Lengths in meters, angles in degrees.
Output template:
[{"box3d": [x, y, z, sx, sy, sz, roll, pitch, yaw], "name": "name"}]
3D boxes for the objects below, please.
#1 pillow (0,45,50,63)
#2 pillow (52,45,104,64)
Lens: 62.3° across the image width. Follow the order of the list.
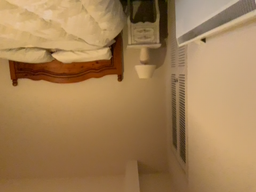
[{"box3d": [-1.330, -0.500, 2.570, 0.680, 0.180, 0.210, -3, -172, -3], "name": "pillow"}, {"box3d": [-0.610, -0.510, 2.650, 0.580, 0.190, 0.250, -2, -172, 1], "name": "pillow"}]
